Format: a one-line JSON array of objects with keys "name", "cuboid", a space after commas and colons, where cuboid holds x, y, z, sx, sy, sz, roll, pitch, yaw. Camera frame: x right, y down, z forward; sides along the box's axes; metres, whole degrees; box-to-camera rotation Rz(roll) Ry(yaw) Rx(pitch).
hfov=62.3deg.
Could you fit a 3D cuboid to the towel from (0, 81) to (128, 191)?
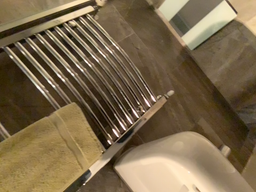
[{"name": "towel", "cuboid": [-0.280, 0.210, 0.660, 0.280, 0.500, 0.140, 51, 145, 1]}]
